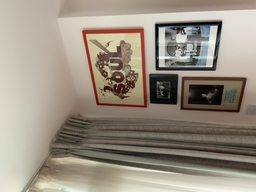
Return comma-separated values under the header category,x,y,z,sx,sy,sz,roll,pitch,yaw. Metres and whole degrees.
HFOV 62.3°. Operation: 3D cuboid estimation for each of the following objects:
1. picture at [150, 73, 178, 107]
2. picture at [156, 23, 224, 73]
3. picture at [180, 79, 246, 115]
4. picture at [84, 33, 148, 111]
category,x,y,z,sx,sy,sz,roll,pitch,yaw
picture,0.270,-0.040,1.620,0.020,0.200,0.290,-71,-20,-53
picture,0.390,-0.310,1.400,0.040,0.400,0.320,-70,-21,-54
picture,0.610,0.010,1.570,0.020,0.420,0.290,-71,-20,-53
picture,-0.070,-0.160,1.620,0.020,0.430,0.640,-71,-20,-53
